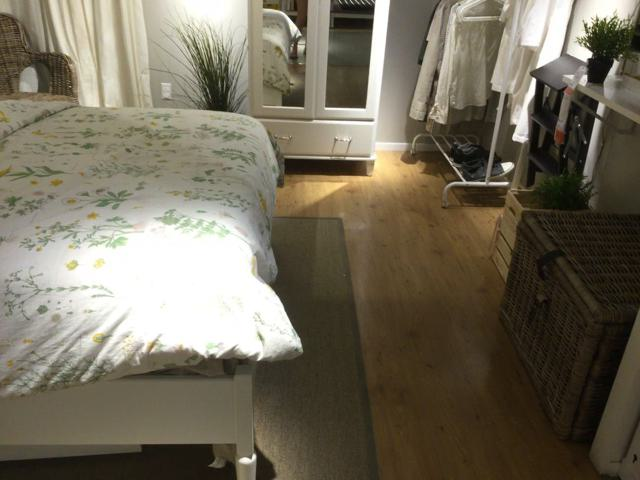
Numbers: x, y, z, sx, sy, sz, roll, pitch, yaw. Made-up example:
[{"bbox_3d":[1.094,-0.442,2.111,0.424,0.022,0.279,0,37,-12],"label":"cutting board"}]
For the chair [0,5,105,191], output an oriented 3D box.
[{"bbox_3d":[-1.870,-0.880,3.480,0.630,0.910,0.750,22,33,33],"label":"chair"}]
